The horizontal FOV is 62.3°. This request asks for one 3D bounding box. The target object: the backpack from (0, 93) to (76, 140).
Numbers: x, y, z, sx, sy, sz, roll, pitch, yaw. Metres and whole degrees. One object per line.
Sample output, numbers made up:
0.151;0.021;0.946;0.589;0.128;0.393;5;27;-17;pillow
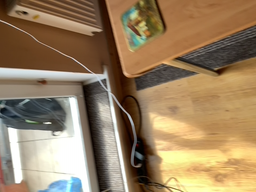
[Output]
-0.760;0.140;1.610;0.330;0.620;0.270;-8;87;37;backpack
